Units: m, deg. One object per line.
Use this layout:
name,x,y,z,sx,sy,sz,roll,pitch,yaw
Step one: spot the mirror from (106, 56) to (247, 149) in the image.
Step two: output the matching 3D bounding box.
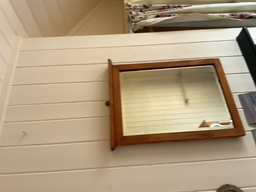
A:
mirror,0.220,0.010,1.140,0.040,0.660,0.500,90,175,-60
